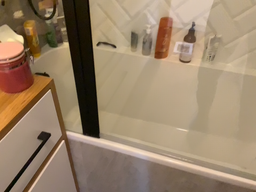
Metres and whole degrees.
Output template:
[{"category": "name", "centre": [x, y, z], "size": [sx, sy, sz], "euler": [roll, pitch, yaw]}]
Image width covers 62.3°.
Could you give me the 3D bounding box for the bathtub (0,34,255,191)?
[{"category": "bathtub", "centre": [0.230, 0.230, 1.100], "size": [1.660, 0.600, 0.700], "euler": [13, 41, 12]}]
